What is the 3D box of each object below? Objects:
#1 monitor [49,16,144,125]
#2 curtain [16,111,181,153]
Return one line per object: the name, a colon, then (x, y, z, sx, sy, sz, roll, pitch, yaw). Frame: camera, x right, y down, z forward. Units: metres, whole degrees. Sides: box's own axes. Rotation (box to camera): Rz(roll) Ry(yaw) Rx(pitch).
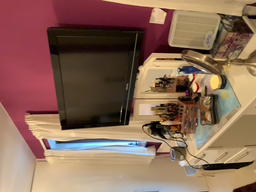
monitor: (-0.210, -0.100, 1.370, 0.040, 0.500, 0.760, -94, 11, -50)
curtain: (-0.250, 0.360, 2.100, 0.500, 1.430, 0.160, 102, 165, -52)
